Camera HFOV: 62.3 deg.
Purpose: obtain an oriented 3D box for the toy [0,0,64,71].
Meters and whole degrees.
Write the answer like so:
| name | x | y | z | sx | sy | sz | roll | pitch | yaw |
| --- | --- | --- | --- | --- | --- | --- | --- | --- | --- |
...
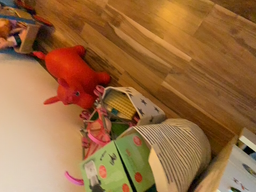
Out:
| name | x | y | z | sx | sy | sz | roll | pitch | yaw |
| --- | --- | --- | --- | --- | --- | --- | --- | --- | --- |
| toy | -0.940 | -0.530 | 1.630 | 0.650 | 0.500 | 0.330 | 43 | 112 | 22 |

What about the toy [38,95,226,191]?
| name | x | y | z | sx | sy | sz | roll | pitch | yaw |
| --- | --- | --- | --- | --- | --- | --- | --- | --- | --- |
| toy | 0.080 | 0.310 | 0.960 | 0.390 | 0.690 | 0.460 | 44 | 112 | 21 |

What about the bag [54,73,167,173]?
| name | x | y | z | sx | sy | sz | roll | pitch | yaw |
| --- | --- | --- | --- | --- | --- | --- | --- | --- | --- |
| bag | -0.080 | 0.120 | 1.180 | 0.330 | 0.420 | 0.340 | 42 | 112 | 22 |

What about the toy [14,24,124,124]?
| name | x | y | z | sx | sy | sz | roll | pitch | yaw |
| --- | --- | --- | --- | --- | --- | --- | --- | --- | --- |
| toy | -0.380 | -0.140 | 1.370 | 0.510 | 0.370 | 0.330 | 43 | 112 | 22 |
